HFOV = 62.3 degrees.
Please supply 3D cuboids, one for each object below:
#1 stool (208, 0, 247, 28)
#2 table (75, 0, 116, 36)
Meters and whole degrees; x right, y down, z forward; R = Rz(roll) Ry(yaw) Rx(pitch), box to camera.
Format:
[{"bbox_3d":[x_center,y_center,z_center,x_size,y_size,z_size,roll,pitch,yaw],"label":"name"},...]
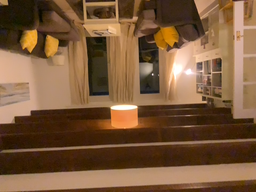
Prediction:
[{"bbox_3d":[1.740,-1.540,3.750,0.410,0.540,0.550,-2,-174,-3],"label":"stool"},{"bbox_3d":[-0.590,-1.520,4.150,0.670,0.460,1.010,-2,-174,-2],"label":"table"}]
